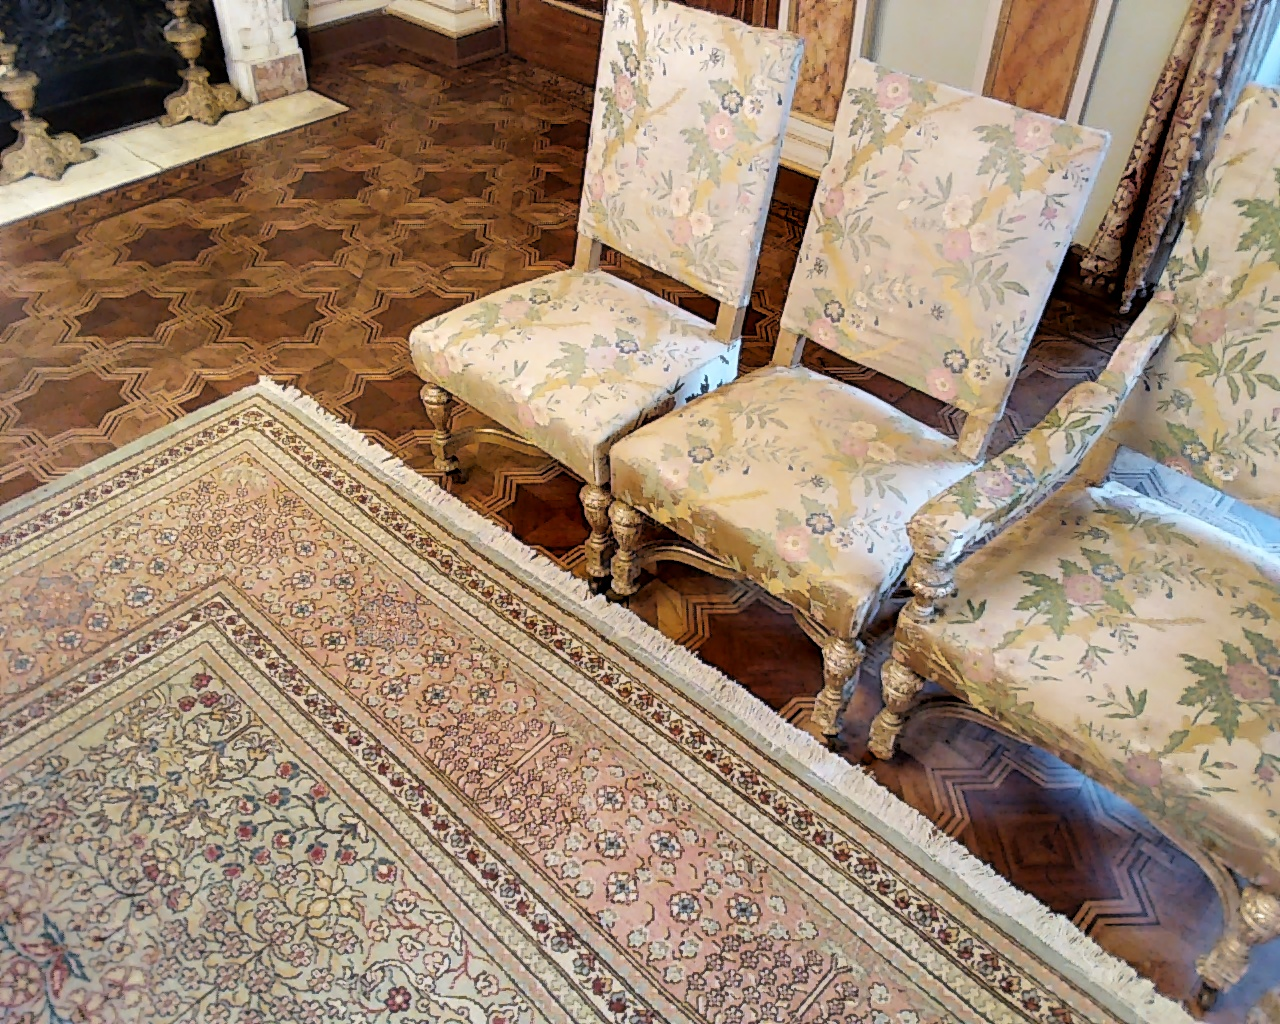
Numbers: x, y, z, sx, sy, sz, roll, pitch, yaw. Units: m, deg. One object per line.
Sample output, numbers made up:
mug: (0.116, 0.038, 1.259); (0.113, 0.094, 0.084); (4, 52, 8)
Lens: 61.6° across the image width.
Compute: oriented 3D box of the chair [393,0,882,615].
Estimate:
chair: (-0.010, -0.470, 2.350); (0.620, 1.050, 0.670); (33, 50, 31)

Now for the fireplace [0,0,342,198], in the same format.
fireplace: (-2.019, -1.941, 3.850); (0.400, 1.220, 1.740); (33, 50, 31)

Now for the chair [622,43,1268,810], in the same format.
chair: (0.470, -0.170, 2.020); (0.730, 1.050, 0.680); (33, 50, 31)

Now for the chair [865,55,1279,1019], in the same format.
chair: (0.950, 0.040, 1.720); (0.650, 1.160, 0.790); (33, 50, 31)
